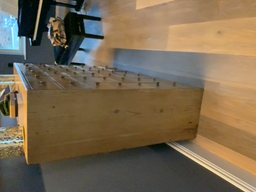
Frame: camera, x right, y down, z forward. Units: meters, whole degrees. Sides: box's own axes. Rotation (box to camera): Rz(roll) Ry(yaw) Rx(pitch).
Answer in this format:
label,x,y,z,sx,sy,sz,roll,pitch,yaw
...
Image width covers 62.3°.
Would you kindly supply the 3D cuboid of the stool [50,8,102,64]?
label,x,y,z,sx,sy,sz,roll,pitch,yaw
stool,-0.800,-0.820,3.120,0.910,0.480,0.320,-32,64,55
